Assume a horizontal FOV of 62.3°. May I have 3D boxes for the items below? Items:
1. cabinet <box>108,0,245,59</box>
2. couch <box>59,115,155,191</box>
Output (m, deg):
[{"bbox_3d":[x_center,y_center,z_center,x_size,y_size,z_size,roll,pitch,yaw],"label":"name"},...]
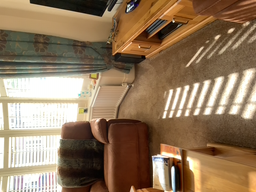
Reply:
[{"bbox_3d":[0.260,-0.780,1.940,1.390,0.490,0.500,165,104,-67],"label":"cabinet"},{"bbox_3d":[-0.340,0.830,2.730,1.020,0.960,1.150,168,102,-67],"label":"couch"}]
